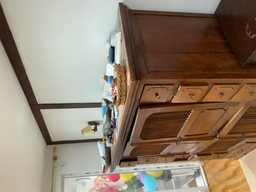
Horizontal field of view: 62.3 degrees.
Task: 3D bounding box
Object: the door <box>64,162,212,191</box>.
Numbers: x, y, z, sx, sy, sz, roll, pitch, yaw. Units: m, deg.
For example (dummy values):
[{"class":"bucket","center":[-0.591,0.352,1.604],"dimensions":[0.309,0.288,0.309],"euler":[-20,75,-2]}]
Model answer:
[{"class":"door","center":[0.230,1.690,3.080],"dimensions":[0.110,2.250,1.260],"euler":[103,162,-52]}]
